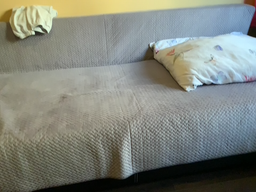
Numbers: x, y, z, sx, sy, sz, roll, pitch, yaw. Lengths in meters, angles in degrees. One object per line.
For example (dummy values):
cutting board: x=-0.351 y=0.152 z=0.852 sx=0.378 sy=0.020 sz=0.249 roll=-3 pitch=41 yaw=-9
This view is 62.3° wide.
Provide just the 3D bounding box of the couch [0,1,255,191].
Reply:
couch: x=-0.030 y=-0.070 z=1.240 sx=2.020 sy=0.740 sz=0.980 roll=-6 pitch=27 yaw=-6
